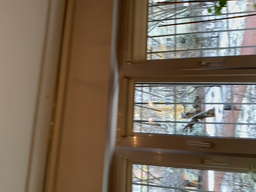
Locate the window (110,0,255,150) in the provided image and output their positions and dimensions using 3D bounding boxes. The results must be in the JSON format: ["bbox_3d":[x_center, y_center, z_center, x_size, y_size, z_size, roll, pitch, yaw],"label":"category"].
[{"bbox_3d":[0.490,-0.400,1.370,0.110,1.140,1.430,46,-135,-70],"label":"window"}]
